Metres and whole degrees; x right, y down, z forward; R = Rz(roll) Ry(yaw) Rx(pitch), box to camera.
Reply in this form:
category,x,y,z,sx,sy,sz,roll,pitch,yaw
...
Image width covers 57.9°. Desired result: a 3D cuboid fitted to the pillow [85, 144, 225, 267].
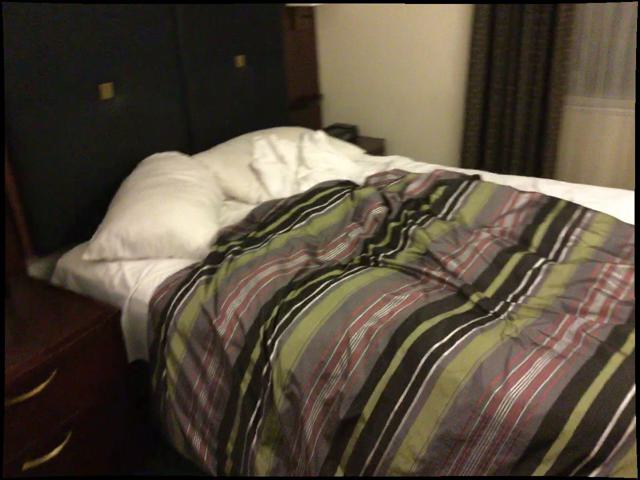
category,x,y,z,sx,sy,sz,roll,pitch,yaw
pillow,-0.529,-0.140,1.980,0.370,0.220,0.510,-4,27,-6

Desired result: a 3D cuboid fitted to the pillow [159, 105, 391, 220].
category,x,y,z,sx,sy,sz,roll,pitch,yaw
pillow,-0.150,-0.370,2.450,0.630,0.170,0.810,13,30,26
